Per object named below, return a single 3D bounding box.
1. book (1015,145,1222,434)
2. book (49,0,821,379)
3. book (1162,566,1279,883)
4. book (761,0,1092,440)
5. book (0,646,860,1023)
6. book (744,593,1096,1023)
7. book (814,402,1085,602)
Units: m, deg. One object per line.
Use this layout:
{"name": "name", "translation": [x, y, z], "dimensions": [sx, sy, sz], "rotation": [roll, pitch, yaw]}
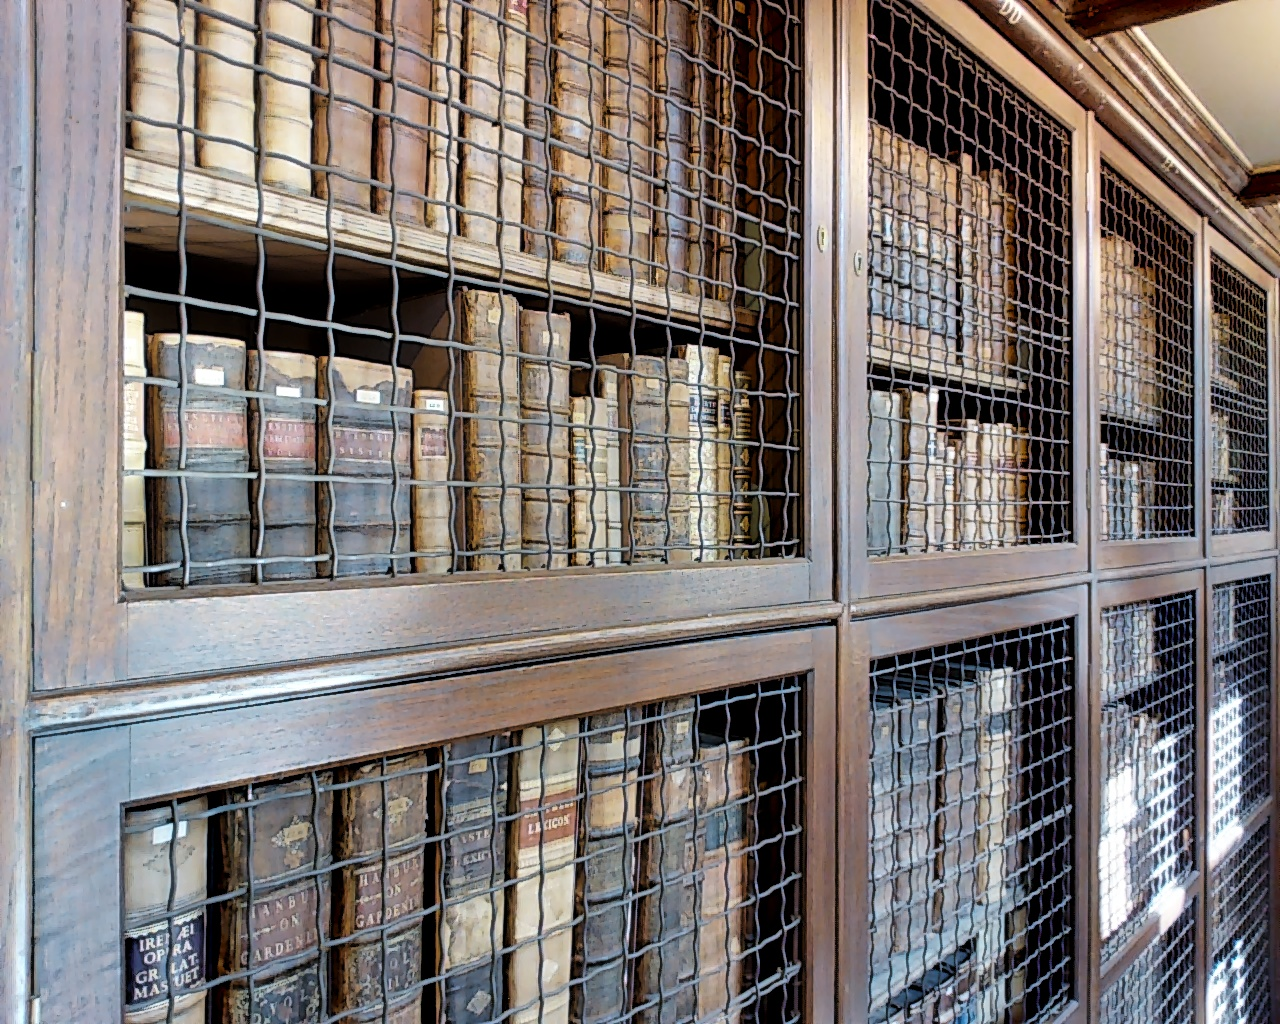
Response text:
{"name": "book", "translation": [0.970, -0.400, 2.130], "dimensions": [0.150, 0.440, 0.710], "rotation": [-1, -1, 43]}
{"name": "book", "translation": [-0.080, -0.380, 0.860], "dimensions": [0.150, 0.460, 0.690], "rotation": [-1, -1, 36]}
{"name": "book", "translation": [1.500, 0.490, 2.730], "dimensions": [0.140, 0.680, 0.750], "rotation": [-1, -1, 39]}
{"name": "book", "translation": [0.430, -0.370, 1.490], "dimensions": [0.200, 0.490, 0.680], "rotation": [-1, -1, 37]}
{"name": "book", "translation": [-0.080, 0.480, 0.850], "dimensions": [0.140, 0.670, 0.760], "rotation": [-1, -1, 41]}
{"name": "book", "translation": [0.440, 0.470, 1.530], "dimensions": [0.180, 0.660, 0.790], "rotation": [-1, -1, 38]}
{"name": "book", "translation": [0.460, -0.010, 1.490], "dimensions": [0.120, 0.220, 0.690], "rotation": [1, 0, 37]}
